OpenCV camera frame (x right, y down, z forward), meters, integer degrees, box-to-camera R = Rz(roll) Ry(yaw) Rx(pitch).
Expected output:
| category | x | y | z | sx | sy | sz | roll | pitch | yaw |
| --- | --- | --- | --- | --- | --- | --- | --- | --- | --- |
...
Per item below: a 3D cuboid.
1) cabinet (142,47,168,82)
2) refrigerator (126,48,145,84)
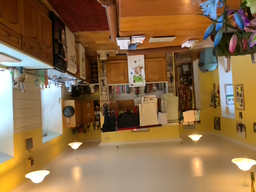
| category | x | y | z | sx | sy | sz | roll | pitch | yaw |
| --- | --- | --- | --- | --- | --- | --- | --- | --- | --- |
| cabinet | 0.820 | -0.960 | 6.610 | 0.670 | 0.960 | 0.530 | -3 | 179 | -1 |
| refrigerator | 0.220 | -0.910 | 6.590 | 0.530 | 1.000 | 0.550 | -3 | 179 | -1 |
